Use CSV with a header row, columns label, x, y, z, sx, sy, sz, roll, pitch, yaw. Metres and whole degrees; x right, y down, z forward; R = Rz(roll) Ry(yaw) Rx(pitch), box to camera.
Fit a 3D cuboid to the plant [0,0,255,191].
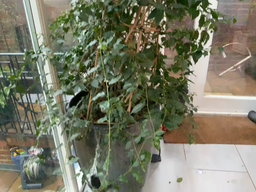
label,x,y,z,sx,sy,sz,roll,pitch,yaw
plant,0.180,-0.340,0.990,1.000,2.200,0.960,5,28,10
